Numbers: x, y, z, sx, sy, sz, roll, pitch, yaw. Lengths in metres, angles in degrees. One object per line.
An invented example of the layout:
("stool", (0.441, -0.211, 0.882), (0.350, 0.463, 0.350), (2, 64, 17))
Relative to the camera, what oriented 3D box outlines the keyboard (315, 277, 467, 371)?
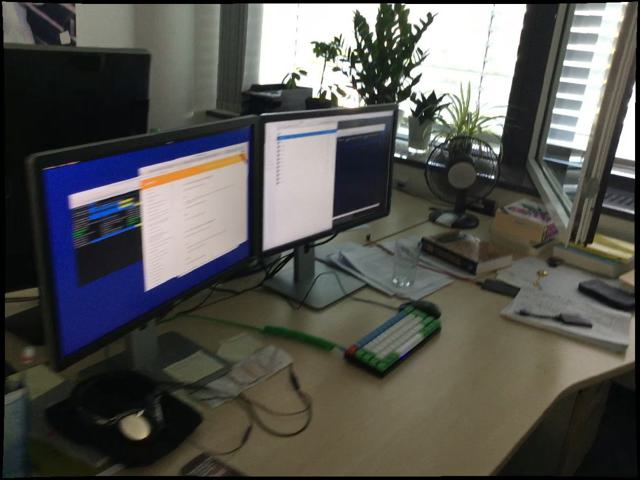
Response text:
("keyboard", (0.180, 0.190, 1.400), (0.180, 0.040, 0.360), (22, 29, 39))
